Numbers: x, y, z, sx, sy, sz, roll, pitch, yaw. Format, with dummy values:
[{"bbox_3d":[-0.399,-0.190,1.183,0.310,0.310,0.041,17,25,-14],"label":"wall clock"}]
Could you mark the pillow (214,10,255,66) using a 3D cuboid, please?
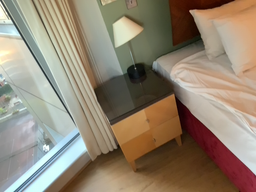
[{"bbox_3d":[0.890,-0.400,1.400,0.540,0.290,0.160,-10,37,-9],"label":"pillow"}]
